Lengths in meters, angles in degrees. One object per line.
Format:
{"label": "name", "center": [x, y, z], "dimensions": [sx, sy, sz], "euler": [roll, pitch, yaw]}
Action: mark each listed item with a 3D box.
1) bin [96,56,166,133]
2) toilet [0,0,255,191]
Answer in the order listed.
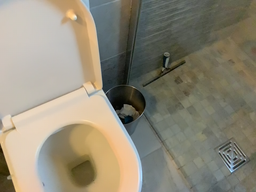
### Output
{"label": "bin", "center": [0.000, 0.000, 1.080], "dimensions": [0.250, 0.270, 0.210], "euler": [-23, 65, -17]}
{"label": "toilet", "center": [-0.180, 0.110, 0.670], "dimensions": [0.420, 0.840, 0.610], "euler": [-25, 66, -18]}
